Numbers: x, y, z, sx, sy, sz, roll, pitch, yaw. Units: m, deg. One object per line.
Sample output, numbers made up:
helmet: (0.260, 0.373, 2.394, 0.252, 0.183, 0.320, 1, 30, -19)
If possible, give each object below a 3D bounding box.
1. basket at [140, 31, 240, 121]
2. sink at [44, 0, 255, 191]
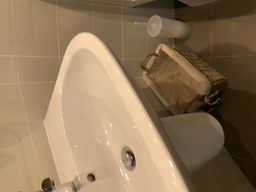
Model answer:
basket: (0.290, -0.110, 1.070, 0.380, 0.240, 0.220, 57, 136, 30)
sink: (-0.020, 0.140, 0.510, 0.540, 0.150, 0.450, 61, 138, 27)
